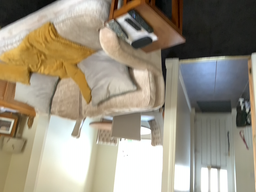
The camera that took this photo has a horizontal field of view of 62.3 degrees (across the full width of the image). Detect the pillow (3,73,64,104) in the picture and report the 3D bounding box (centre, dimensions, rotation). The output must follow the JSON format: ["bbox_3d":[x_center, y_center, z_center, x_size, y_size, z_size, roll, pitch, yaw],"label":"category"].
[{"bbox_3d":[-1.080,-0.070,2.450,0.530,0.260,0.320,-1,163,22],"label":"pillow"}]

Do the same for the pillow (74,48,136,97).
[{"bbox_3d":[-0.210,-0.220,1.860,0.490,0.310,0.200,15,-158,20],"label":"pillow"}]
